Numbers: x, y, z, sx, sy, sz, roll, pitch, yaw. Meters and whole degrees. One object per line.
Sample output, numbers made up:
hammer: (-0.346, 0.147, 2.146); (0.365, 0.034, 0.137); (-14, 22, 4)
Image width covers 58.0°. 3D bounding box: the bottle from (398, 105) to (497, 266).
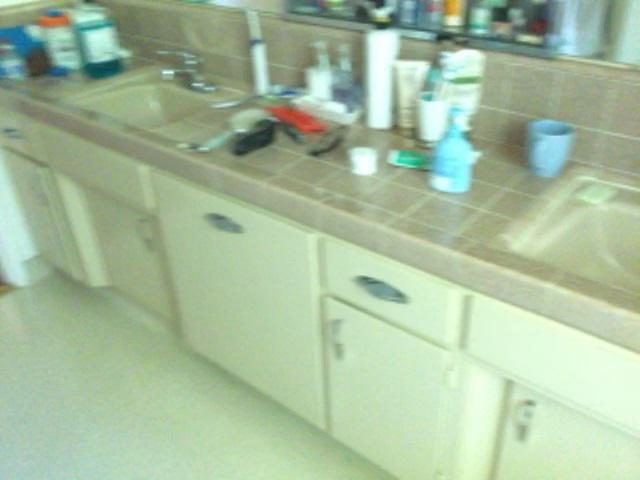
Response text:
bottle: (0.250, -0.110, 1.160); (0.120, 0.270, 0.130); (25, 41, 36)
